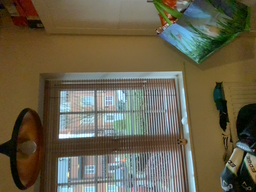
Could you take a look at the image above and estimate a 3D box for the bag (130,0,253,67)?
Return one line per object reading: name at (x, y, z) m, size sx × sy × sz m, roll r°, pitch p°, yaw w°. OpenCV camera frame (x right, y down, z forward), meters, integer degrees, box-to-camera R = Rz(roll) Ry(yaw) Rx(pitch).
bag at (0.320, -0.430, 1.320) m, size 0.530 × 0.540 × 0.310 m, roll 112°, pitch 156°, yaw -75°
